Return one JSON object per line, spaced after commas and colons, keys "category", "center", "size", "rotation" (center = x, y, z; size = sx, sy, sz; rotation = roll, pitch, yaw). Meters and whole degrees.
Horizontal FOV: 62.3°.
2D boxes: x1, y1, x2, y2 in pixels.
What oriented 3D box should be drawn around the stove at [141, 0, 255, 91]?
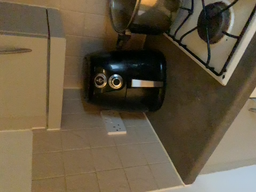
{"category": "stove", "center": [0.230, -0.410, 0.610], "size": [0.550, 0.040, 0.580], "rotation": [-118, 35, -48]}
